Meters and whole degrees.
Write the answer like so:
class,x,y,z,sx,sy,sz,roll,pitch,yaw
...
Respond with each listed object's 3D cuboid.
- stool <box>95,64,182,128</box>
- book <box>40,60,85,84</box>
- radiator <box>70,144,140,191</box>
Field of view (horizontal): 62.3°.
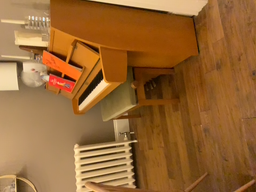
class,x,y,z,sx,sy,sz,roll,pitch,yaw
stool,0.030,0.050,2.260,1.020,0.500,0.330,138,125,-60
book,-0.550,-0.190,1.750,0.290,0.310,0.110,-24,71,62
radiator,-0.260,1.170,2.630,0.220,0.800,1.030,153,112,-64
